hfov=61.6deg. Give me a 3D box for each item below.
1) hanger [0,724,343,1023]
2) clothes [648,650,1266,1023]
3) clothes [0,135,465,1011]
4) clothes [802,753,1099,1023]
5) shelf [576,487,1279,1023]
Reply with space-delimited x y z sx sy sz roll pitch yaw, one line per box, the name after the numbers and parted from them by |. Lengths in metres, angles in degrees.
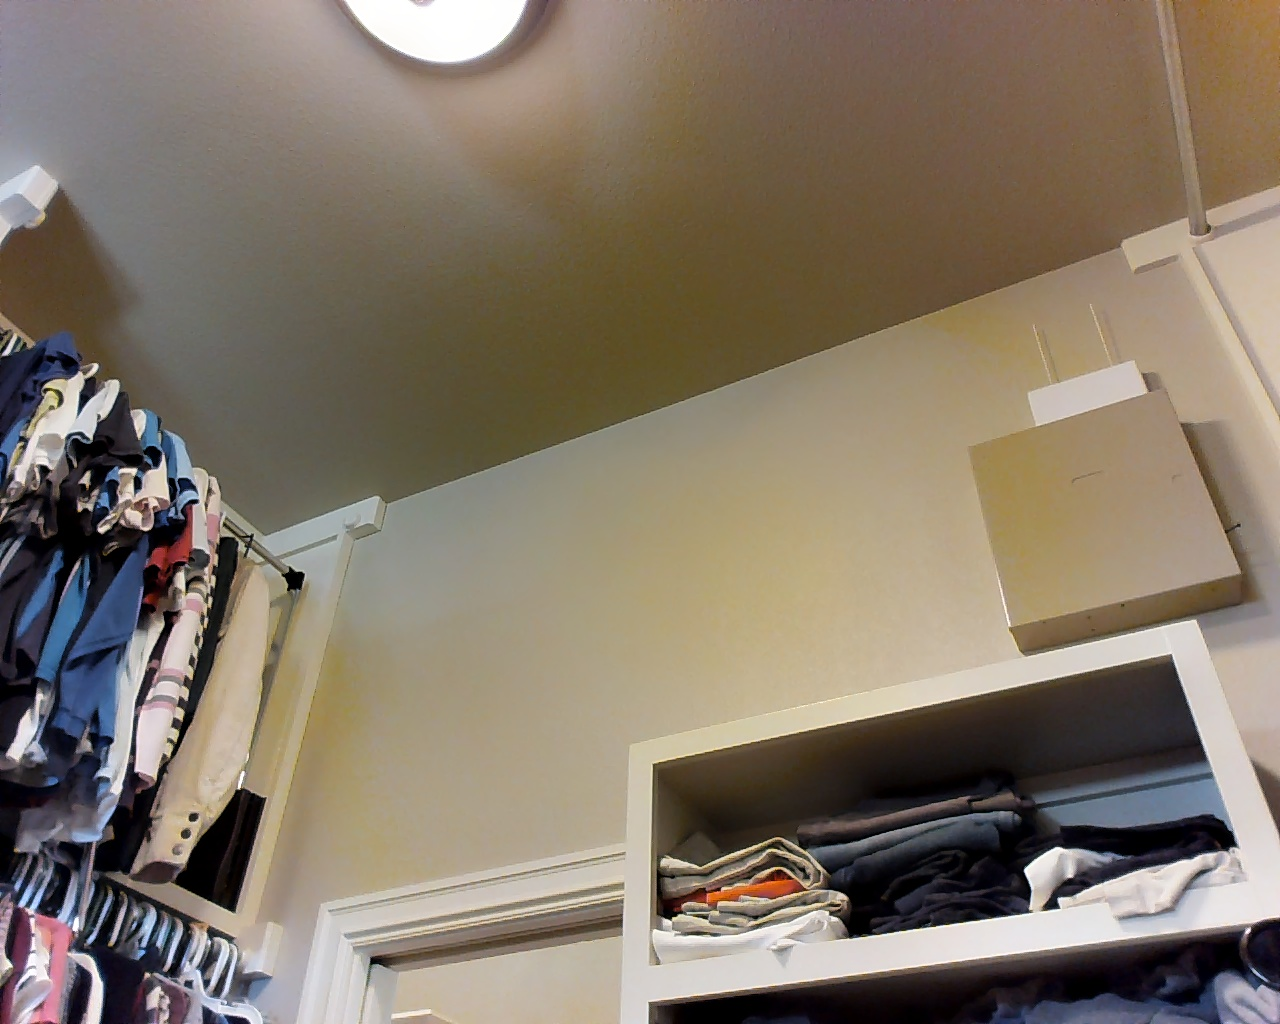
-0.890 0.520 1.540 0.260 0.230 1.060 -17 -44 21 | hanger
0.380 0.440 1.380 0.670 0.260 0.300 -17 -44 21 | clothes
-0.950 0.140 2.010 0.650 1.170 0.980 -17 -44 21 | clothes
0.370 0.640 1.190 0.270 0.660 0.220 -17 -44 21 | clothes
0.420 0.580 1.200 0.940 1.020 0.340 -17 -44 21 | shelf
